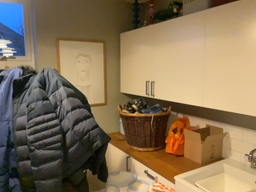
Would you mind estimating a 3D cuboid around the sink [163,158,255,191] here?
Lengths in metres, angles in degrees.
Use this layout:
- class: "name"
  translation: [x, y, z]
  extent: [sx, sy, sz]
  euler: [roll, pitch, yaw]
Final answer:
- class: "sink"
  translation: [0.710, 0.710, 1.440]
  extent: [0.670, 0.210, 0.660]
  euler: [-5, 9, -31]
